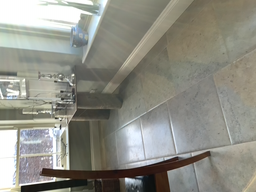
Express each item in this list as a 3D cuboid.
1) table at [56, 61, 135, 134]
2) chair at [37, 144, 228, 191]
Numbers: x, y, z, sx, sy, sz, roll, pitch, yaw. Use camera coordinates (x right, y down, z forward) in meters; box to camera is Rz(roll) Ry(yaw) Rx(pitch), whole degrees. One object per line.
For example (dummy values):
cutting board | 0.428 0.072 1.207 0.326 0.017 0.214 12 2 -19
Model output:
table | -0.620 0.140 3.300 1.620 0.770 0.570 139 128 -58
chair | 0.020 0.730 1.400 0.610 1.130 0.640 138 129 -58
